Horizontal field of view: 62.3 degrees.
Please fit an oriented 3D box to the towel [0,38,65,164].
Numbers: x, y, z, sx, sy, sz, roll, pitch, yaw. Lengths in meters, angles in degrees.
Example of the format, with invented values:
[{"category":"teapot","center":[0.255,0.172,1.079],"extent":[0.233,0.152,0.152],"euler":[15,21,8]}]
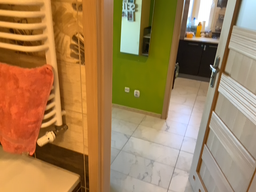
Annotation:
[{"category":"towel","center":[-0.640,-0.010,1.050],"extent":[0.540,0.490,0.270],"euler":[11,26,15]}]
